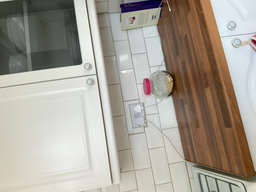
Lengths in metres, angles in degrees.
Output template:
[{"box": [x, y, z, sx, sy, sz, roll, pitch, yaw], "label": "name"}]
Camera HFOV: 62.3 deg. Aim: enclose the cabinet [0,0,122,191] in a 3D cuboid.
[{"box": [-0.610, -0.020, 1.100, 0.320, 1.000, 1.030, 113, 148, -78], "label": "cabinet"}]
